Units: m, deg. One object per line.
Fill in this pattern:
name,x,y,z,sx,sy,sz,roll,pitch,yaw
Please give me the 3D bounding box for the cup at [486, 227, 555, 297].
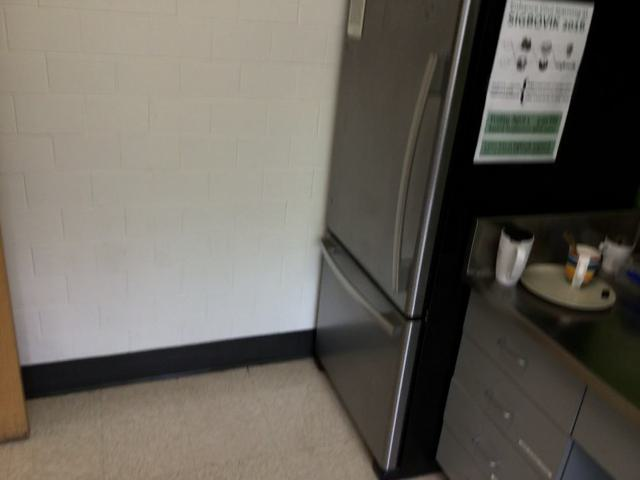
cup,0.560,0.060,1.620,0.110,0.160,0.100,-2,26,-20
